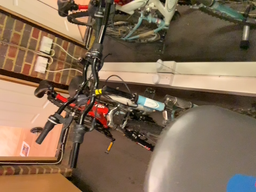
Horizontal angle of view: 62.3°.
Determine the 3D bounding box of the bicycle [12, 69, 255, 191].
[{"bbox_3d":[-0.130,0.150,1.530,1.750,0.740,0.420,11,86,46],"label":"bicycle"}]
